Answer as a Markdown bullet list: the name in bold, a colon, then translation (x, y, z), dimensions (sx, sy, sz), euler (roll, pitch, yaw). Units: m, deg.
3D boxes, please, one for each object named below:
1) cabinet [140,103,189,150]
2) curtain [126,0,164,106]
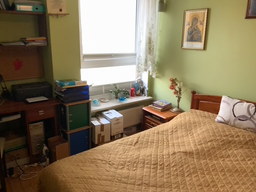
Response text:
- **cabinet**: translation (0.530, 0.430, 3.200), dimensions (0.460, 0.460, 0.530), euler (-11, 20, -36)
- **curtain**: translation (0.260, -0.840, 3.310), dimensions (0.440, 1.950, 0.290), euler (-9, 19, -33)
